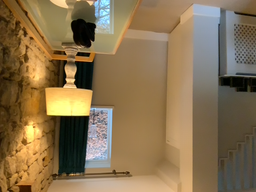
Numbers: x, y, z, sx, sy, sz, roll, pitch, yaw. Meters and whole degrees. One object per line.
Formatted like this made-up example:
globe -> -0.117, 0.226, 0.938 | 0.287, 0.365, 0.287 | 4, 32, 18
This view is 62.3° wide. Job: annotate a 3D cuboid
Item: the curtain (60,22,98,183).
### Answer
curtain -> -0.800, 0.090, 3.470 | 0.520, 2.480, 0.280 | 2, 178, -15
